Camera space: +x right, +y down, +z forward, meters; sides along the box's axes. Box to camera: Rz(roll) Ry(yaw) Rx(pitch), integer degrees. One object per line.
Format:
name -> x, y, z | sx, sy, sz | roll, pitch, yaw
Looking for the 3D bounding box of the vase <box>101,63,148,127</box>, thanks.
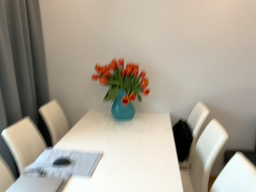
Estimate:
vase -> -0.020, -0.020, 2.150 | 0.420, 0.580, 0.290 | 2, 15, 6
